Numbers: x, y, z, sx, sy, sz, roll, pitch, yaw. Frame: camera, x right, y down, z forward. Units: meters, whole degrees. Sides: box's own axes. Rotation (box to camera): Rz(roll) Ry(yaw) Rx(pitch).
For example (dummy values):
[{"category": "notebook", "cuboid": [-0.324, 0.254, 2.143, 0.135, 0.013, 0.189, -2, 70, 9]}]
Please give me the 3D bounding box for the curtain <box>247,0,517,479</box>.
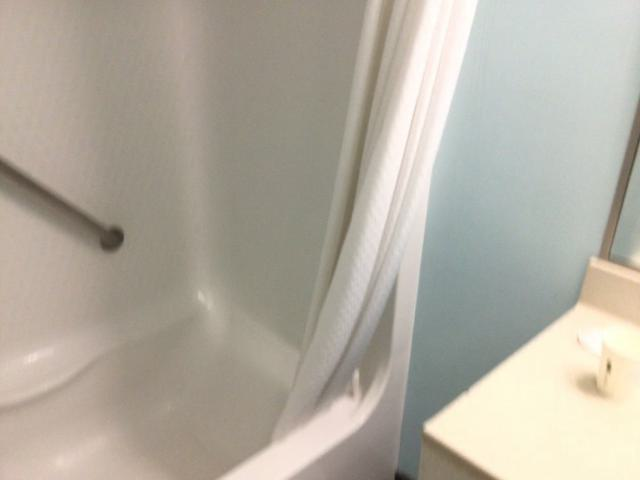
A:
[{"category": "curtain", "cuboid": [0.090, -0.180, 1.140, 0.390, 1.520, 0.280, 24, 31, 39]}]
